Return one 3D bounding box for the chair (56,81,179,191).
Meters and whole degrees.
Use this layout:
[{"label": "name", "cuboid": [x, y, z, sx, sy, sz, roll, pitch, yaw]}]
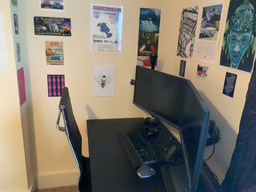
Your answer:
[{"label": "chair", "cuboid": [-0.140, 0.530, 1.680, 0.720, 1.180, 0.640, -1, 16, -14]}]
